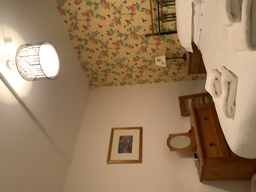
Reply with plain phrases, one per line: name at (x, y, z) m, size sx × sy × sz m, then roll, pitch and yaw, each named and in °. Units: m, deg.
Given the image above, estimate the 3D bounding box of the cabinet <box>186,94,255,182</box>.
cabinet at (1.200, 0.500, 2.590) m, size 0.490 × 0.810 × 0.900 m, roll 78°, pitch -168°, yaw -46°

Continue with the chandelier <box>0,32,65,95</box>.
chandelier at (-0.860, -0.290, 1.910) m, size 0.340 × 0.360 × 0.440 m, roll -79°, pitch -16°, yaw -58°

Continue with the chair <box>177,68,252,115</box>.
chair at (1.210, -0.050, 3.120) m, size 0.470 × 0.900 × 0.430 m, roll 78°, pitch -168°, yaw -46°
